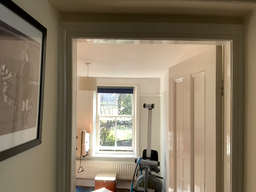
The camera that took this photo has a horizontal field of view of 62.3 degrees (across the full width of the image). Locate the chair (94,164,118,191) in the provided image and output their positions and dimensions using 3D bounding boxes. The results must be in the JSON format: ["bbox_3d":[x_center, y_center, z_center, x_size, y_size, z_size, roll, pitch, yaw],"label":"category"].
[{"bbox_3d":[-0.470,1.900,4.730,0.420,0.540,0.670,1,0,4],"label":"chair"}]
